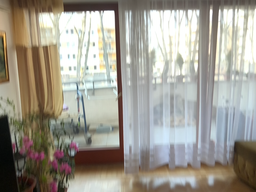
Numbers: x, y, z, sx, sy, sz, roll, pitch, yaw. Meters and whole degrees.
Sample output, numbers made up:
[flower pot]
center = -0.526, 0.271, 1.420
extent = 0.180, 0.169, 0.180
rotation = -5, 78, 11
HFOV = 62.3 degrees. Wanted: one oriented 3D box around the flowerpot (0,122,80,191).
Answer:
[flowerpot]
center = -0.830, 0.750, 1.910
extent = 0.620, 0.910, 0.490
rotation = 0, 10, 5
